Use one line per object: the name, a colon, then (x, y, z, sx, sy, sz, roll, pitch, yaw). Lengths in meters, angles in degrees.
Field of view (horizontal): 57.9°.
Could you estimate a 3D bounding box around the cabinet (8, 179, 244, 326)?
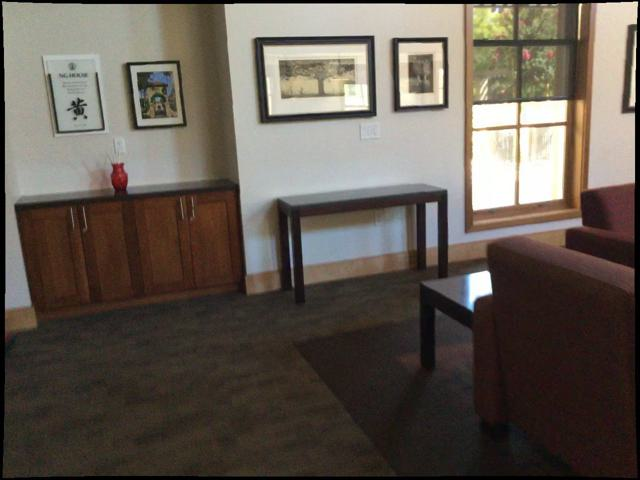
cabinet: (-1.299, 0.060, 4.060, 1.489, 0.931, 0.190, -3, 13, -18)
